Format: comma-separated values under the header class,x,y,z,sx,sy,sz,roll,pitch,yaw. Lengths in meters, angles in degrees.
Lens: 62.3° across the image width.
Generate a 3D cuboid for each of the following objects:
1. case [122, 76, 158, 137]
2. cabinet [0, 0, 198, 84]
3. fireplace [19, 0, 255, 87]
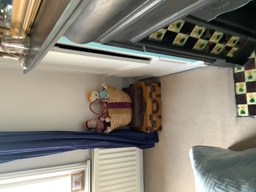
class,x,y,z,sx,sy,sz,roll,pitch,yaw
case,0.120,0.120,2.290,0.360,0.190,0.600,-10,80,57
cabinet,-0.440,-0.400,1.700,0.960,1.800,0.390,-6,83,58
fireplace,0.390,-0.320,0.820,1.240,1.330,0.390,-6,83,58
